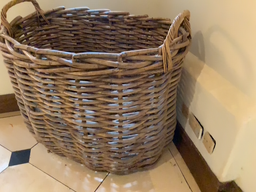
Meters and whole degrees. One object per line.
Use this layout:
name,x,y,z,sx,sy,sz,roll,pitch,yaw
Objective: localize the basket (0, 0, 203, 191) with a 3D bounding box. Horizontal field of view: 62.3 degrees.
basket,-0.230,-0.090,1.420,1.150,0.840,0.760,15,37,19
